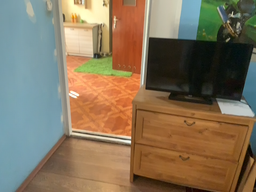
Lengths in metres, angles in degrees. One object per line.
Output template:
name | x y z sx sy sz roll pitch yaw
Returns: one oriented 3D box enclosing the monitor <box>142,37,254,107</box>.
monitor | 0.500 -0.190 1.650 0.750 0.450 0.060 9 25 14
